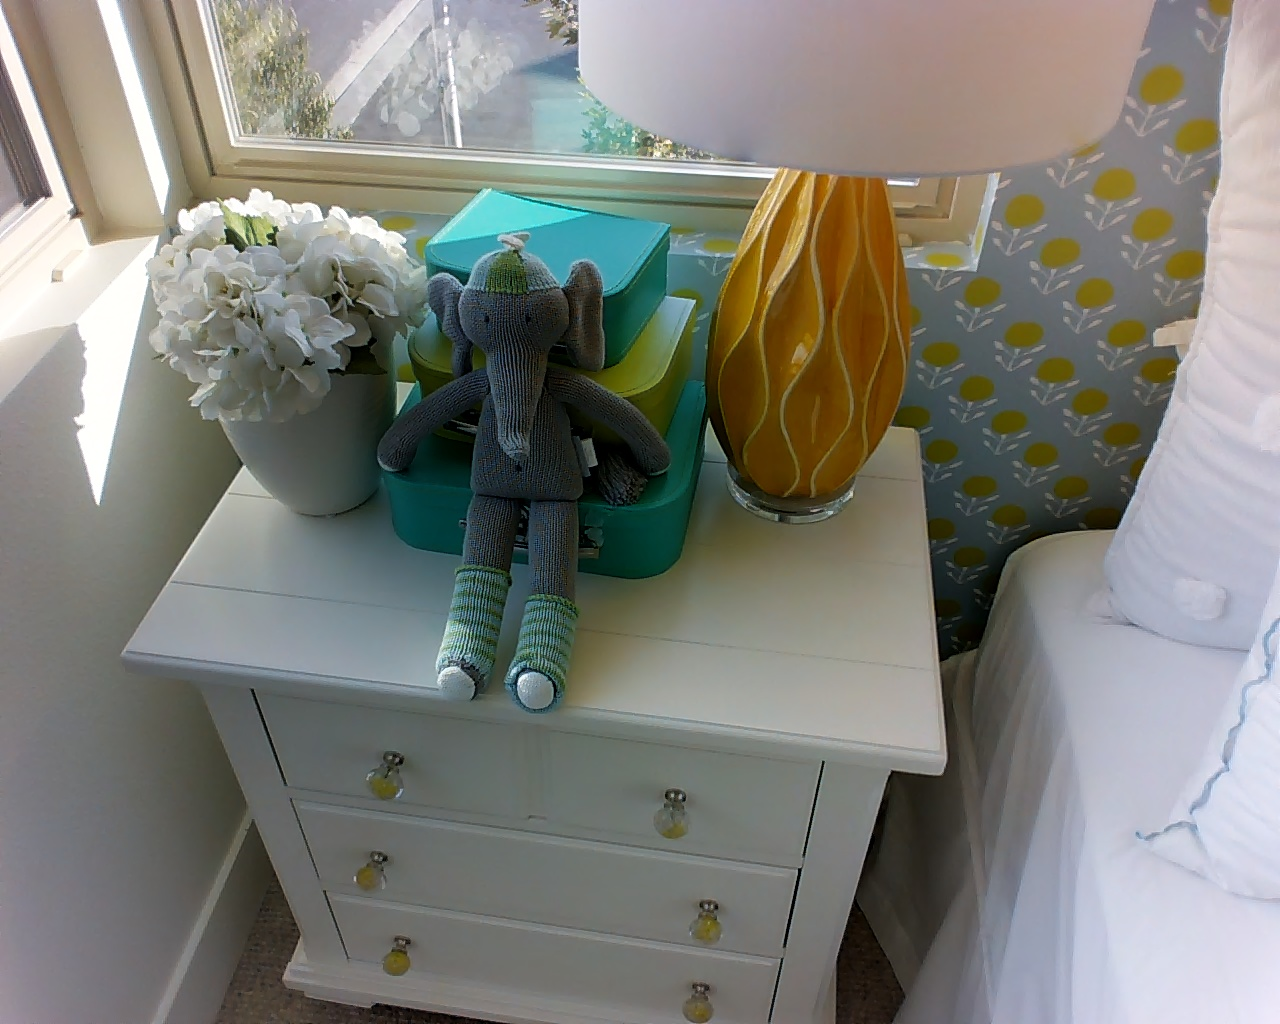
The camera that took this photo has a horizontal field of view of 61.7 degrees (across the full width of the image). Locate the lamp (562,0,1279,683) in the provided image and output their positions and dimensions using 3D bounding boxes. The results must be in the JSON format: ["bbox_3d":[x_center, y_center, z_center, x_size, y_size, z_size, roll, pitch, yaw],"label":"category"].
[{"bbox_3d":[0.190,-0.260,0.840,0.440,0.730,0.310,-10,43,-11],"label":"lamp"}]

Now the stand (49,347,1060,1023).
[{"bbox_3d":[-0.060,0.300,1.320,0.840,0.800,0.480,5,42,5],"label":"stand"}]
